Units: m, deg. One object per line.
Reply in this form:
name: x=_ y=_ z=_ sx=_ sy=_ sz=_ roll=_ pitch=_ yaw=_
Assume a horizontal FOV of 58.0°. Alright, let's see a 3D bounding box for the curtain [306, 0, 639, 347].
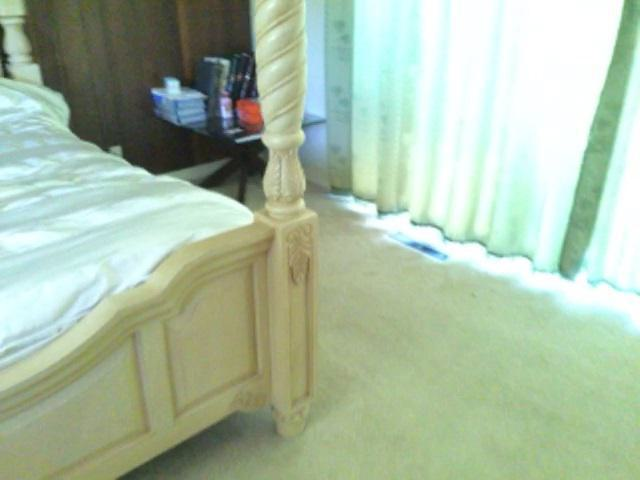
curtain: x=0.920 y=-0.440 z=2.280 sx=0.270 sy=1.380 sz=2.720 roll=-20 pitch=31 yaw=-36
